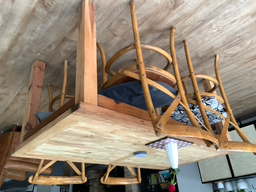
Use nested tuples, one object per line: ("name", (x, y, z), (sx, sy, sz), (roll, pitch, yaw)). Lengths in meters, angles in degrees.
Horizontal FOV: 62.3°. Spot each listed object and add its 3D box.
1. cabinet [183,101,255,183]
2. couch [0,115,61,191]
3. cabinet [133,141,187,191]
("cabinet", (1.680, 0.700, 3.150), (0.460, 0.880, 1.530), (19, 143, -39))
("couch", (-1.540, 0.850, 2.890), (0.730, 0.810, 0.910), (-26, 146, 33))
("cabinet", (0.640, 1.560, 4.600), (0.410, 0.840, 1.010), (20, 143, -39))
